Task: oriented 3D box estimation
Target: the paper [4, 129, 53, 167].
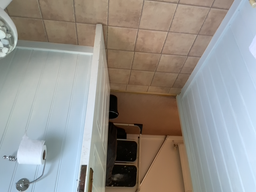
[{"bbox_3d":[-0.450,0.240,0.980,0.170,0.140,0.080,7,146,-11],"label":"paper"}]
